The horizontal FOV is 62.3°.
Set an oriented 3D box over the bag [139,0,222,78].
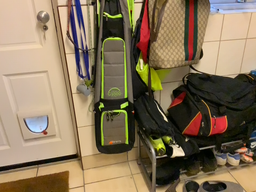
[{"bbox_3d":[0.270,-0.350,1.150,0.390,0.430,0.150,-8,26,-13],"label":"bag"}]
